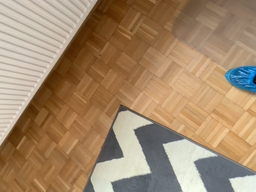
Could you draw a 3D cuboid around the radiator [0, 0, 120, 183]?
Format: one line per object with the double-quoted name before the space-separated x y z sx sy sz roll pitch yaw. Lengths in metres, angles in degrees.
"radiator" -0.600 -0.120 1.060 0.160 0.730 1.780 38 99 16
